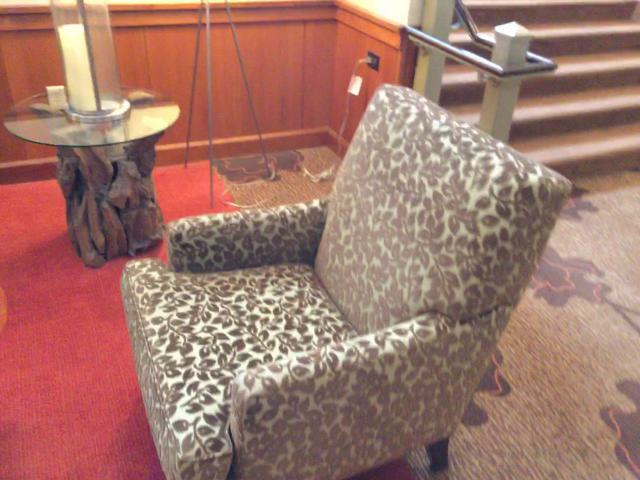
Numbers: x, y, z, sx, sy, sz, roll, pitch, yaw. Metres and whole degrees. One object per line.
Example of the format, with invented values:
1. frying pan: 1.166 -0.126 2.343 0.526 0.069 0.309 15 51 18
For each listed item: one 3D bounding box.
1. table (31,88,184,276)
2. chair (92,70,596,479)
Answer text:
1. table: -0.870 -0.260 2.400 0.490 0.590 0.450 -9 35 -25
2. chair: -0.060 0.140 1.560 0.910 0.960 0.800 -7 34 -21
